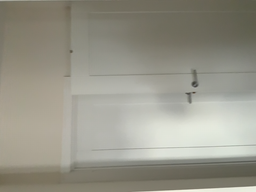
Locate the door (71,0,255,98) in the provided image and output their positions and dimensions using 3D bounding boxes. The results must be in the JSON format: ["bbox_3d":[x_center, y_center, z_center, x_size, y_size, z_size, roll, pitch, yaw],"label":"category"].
[{"bbox_3d":[0.510,-0.450,1.820,0.070,1.950,0.880,111,157,-81],"label":"door"}]
